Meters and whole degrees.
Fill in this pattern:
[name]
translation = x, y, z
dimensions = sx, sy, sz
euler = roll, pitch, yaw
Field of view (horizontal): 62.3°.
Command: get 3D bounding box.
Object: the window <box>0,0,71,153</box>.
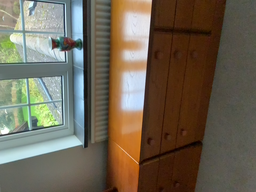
[window]
translation = -0.800, -0.370, 1.450
dimensions = 0.100, 0.770, 1.570
euler = 25, 117, 52
